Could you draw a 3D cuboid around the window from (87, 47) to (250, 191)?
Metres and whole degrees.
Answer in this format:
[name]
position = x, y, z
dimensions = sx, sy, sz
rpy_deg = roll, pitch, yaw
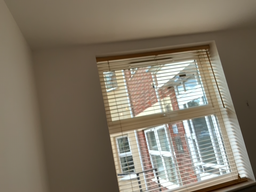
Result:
[window]
position = 0.360, 0.240, 1.910
dimensions = 1.230, 1.310, 0.070
rpy_deg = -9, -11, -13
